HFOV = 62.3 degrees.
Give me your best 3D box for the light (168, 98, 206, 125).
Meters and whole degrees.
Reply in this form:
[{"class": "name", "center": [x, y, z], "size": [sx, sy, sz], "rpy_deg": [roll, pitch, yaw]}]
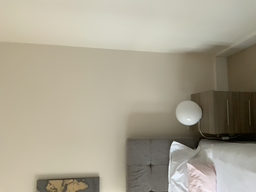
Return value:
[{"class": "light", "center": [0.590, 0.170, 2.180], "size": [0.370, 0.230, 0.250], "rpy_deg": [148, 122, -78]}]
